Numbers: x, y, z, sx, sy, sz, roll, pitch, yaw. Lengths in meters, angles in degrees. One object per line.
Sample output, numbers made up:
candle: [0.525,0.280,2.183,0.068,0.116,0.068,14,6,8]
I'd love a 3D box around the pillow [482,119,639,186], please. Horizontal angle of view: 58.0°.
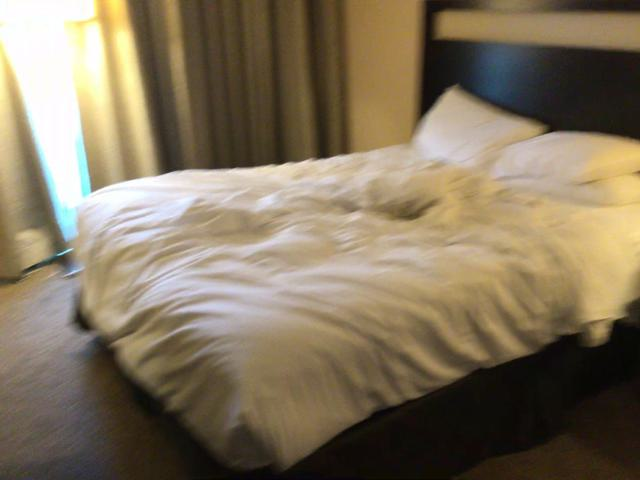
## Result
pillow: [1.040,-0.380,2.380,0.430,0.120,0.570,-14,25,-32]

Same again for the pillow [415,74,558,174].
pillow: [0.780,-0.590,2.830,0.300,0.360,0.660,-8,23,-20]

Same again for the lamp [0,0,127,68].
lamp: [-1.320,-1.120,2.830,0.570,0.480,0.410,-14,25,-32]
